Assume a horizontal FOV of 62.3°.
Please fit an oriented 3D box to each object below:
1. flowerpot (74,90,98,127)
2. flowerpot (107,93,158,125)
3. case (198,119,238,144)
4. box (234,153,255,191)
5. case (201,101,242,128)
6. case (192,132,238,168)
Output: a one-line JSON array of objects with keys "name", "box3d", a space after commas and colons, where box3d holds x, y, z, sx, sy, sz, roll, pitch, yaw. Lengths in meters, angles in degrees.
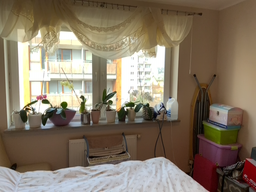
[{"name": "flowerpot", "box3d": [-0.570, 0.160, 2.880, 0.310, 0.460, 0.250, 0, 6, -13]}, {"name": "flowerpot", "box3d": [0.050, 0.170, 2.990, 0.650, 0.390, 0.300, 0, 6, -13]}, {"name": "case", "box3d": [1.270, 0.490, 3.020, 0.290, 0.220, 0.460, 0, 6, -15]}, {"name": "box", "box3d": [1.460, 0.880, 2.380, 0.240, 0.320, 0.430, -1, 7, -17]}, {"name": "case", "box3d": [1.310, 0.250, 3.010, 0.310, 0.290, 0.450, -1, 7, -17]}, {"name": "case", "box3d": [1.230, 0.750, 3.050, 0.360, 0.320, 0.510, -1, 7, -17]}]
